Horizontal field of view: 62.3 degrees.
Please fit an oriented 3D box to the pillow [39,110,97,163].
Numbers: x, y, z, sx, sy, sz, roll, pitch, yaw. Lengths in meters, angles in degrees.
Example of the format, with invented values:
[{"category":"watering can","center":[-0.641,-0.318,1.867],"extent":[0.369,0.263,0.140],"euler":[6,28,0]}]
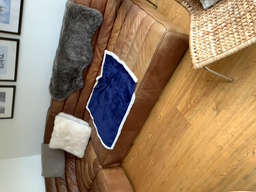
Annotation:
[{"category":"pillow","center":[-0.790,0.550,2.860],"extent":[0.190,0.530,0.550],"euler":[53,168,50]}]
